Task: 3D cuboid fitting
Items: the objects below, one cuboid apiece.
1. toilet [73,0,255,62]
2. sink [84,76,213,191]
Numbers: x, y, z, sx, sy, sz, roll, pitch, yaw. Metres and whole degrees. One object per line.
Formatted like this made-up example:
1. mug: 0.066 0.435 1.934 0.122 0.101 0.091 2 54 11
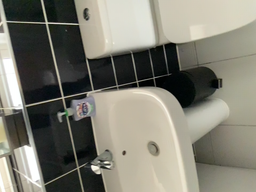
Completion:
1. toilet: 0.270 -0.420 0.940 0.650 0.760 0.370 -4 98 46
2. sink: 0.070 0.220 0.850 0.420 0.200 0.530 -4 98 46
